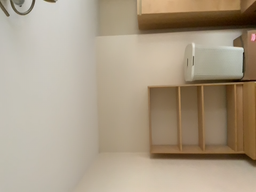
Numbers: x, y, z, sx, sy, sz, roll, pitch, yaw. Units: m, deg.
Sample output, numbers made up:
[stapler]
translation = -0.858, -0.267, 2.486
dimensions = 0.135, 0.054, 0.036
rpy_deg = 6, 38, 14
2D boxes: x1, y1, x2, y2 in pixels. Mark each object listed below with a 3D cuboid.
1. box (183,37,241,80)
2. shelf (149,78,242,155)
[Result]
[box]
translation = 0.980, -0.430, 2.540
dimensions = 0.370, 0.550, 0.440
rpy_deg = -8, -83, -85
[shelf]
translation = 0.790, 0.240, 2.610
dimensions = 0.330, 1.040, 0.880
rpy_deg = -38, -53, -84
